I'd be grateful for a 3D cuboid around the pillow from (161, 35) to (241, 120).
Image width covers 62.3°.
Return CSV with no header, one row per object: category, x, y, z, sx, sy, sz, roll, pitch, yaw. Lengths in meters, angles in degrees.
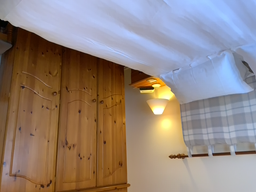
pillow,0.680,-0.180,2.070,0.190,0.410,0.690,14,110,-42
